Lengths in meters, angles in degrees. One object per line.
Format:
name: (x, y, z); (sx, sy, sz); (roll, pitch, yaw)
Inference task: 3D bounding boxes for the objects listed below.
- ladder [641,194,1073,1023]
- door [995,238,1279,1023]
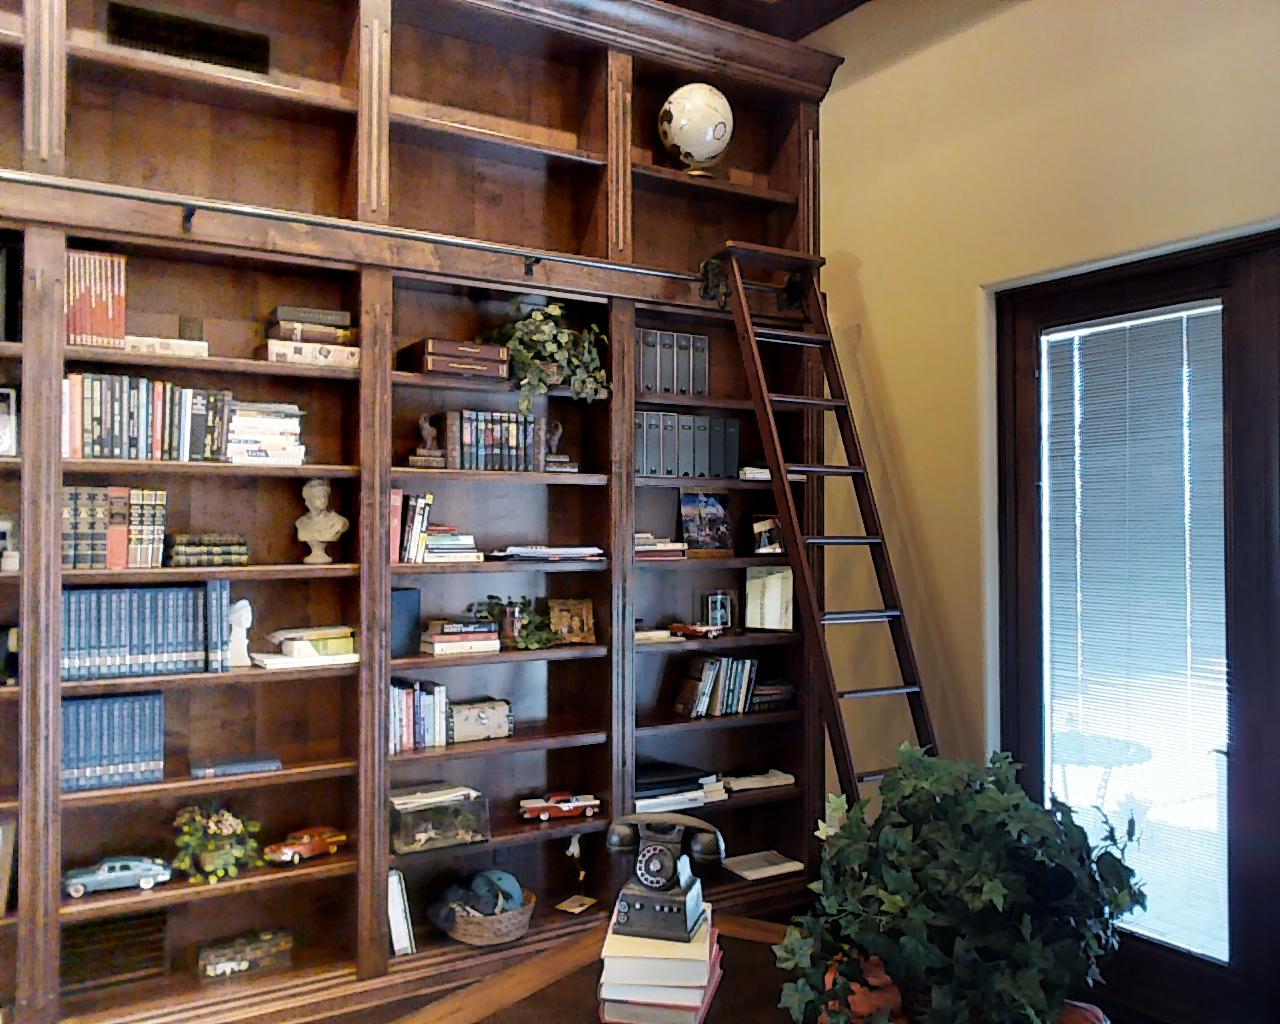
ladder: (0.680, 0.230, 3.740); (0.740, 2.730, 0.450); (0, -21, -32)
door: (1.840, 0.380, 3.060); (0.160, 2.290, 1.850); (0, -2, -31)
